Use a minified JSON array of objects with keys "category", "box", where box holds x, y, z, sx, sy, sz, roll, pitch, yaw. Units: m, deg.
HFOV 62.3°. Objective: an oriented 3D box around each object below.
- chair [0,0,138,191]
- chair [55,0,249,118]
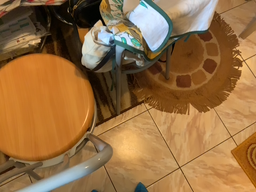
[{"category":"chair","box":[-0.300,0.070,0.760,0.390,0.790,0.470,-25,79,-12]},{"category":"chair","box":[-0.020,-0.270,0.870,0.390,0.800,0.480,-25,79,-12]}]
